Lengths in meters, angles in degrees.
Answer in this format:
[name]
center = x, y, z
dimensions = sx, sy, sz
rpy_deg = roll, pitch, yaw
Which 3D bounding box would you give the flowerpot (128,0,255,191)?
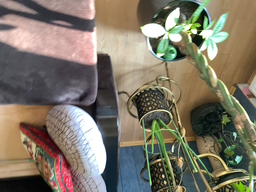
[flowerpot]
center = 0.470, -0.020, 0.910
dimensions = 0.710, 1.210, 0.330
rpy_deg = 27, 122, -31

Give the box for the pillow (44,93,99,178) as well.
[pillow]
center = -0.240, 0.200, 1.010
dimensions = 0.200, 0.310, 0.330
rpy_deg = 0, 153, -8
